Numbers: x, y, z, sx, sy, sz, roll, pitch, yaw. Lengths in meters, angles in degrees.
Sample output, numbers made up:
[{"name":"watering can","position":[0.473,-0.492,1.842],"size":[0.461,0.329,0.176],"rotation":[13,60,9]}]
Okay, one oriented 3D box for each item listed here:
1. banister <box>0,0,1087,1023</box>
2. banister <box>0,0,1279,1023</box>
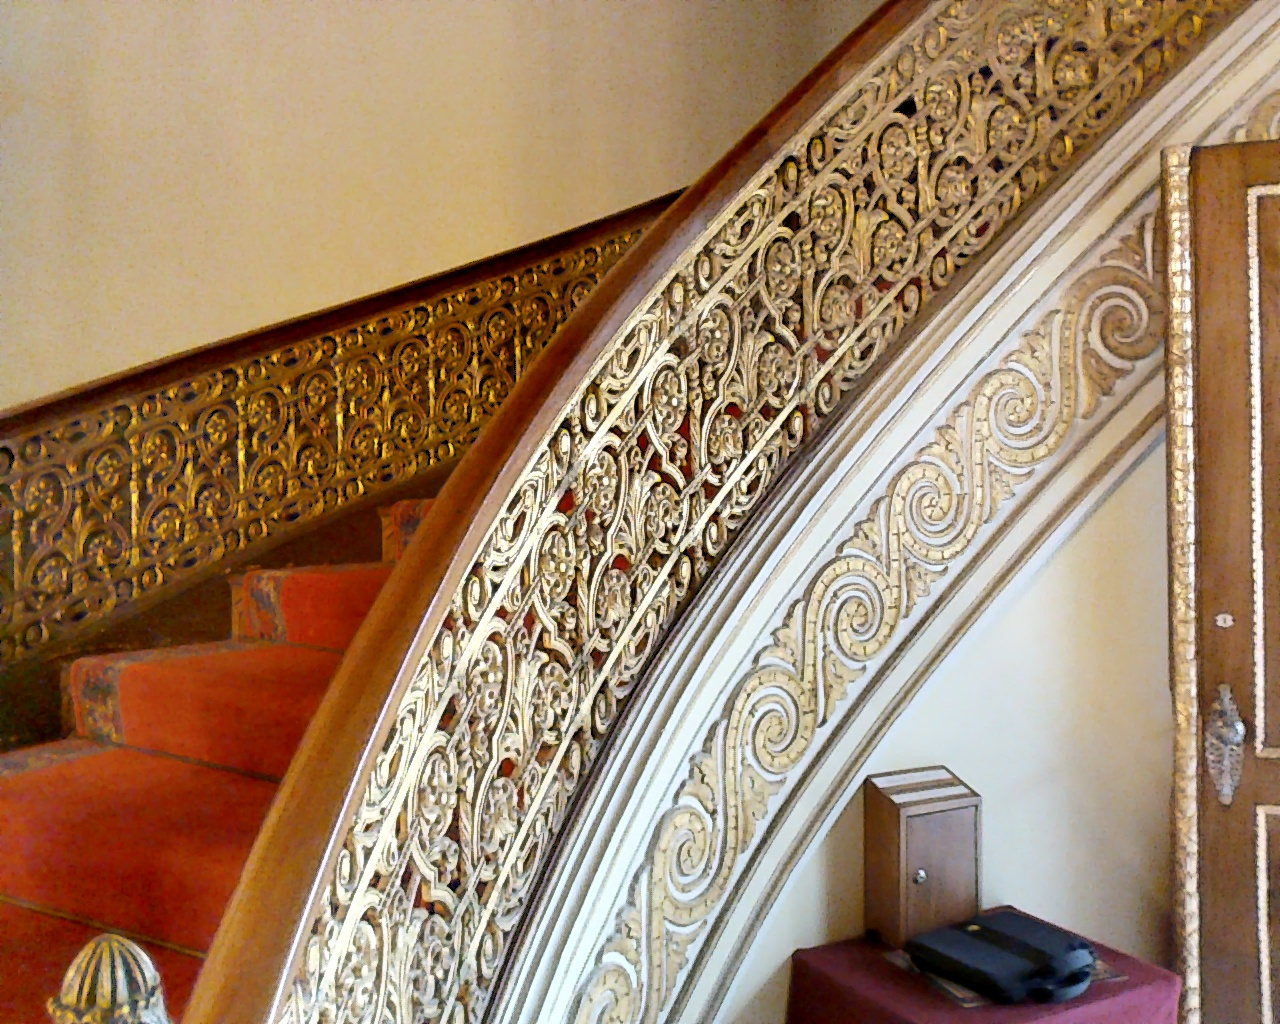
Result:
[{"name":"banister","position":[0.100,0.130,1.520],"size":[0.510,2.891,2.000],"rotation":[-1,0,36]},{"name":"banister","position":[0.490,0.070,1.640],"size":[2.529,3.031,0.840],"rotation":[-1,0,-33]}]
